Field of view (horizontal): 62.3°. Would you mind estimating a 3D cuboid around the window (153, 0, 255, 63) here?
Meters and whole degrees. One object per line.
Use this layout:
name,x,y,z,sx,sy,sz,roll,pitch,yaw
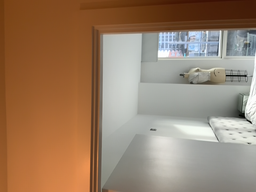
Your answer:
window,1.690,-1.590,4.310,0.250,2.270,1.780,-16,-71,-75
